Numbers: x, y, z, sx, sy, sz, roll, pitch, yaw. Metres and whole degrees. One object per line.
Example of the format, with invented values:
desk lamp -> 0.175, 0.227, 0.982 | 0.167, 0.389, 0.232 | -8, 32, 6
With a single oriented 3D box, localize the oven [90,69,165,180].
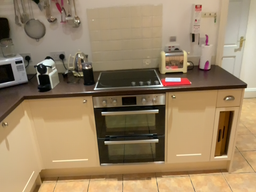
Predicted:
oven -> 0.010, 0.260, 2.140 | 0.600, 0.910, 0.600 | -2, 23, 0

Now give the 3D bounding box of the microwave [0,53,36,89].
microwave -> -1.160, -0.220, 1.930 | 0.500, 0.230, 0.300 | -18, 27, -32
